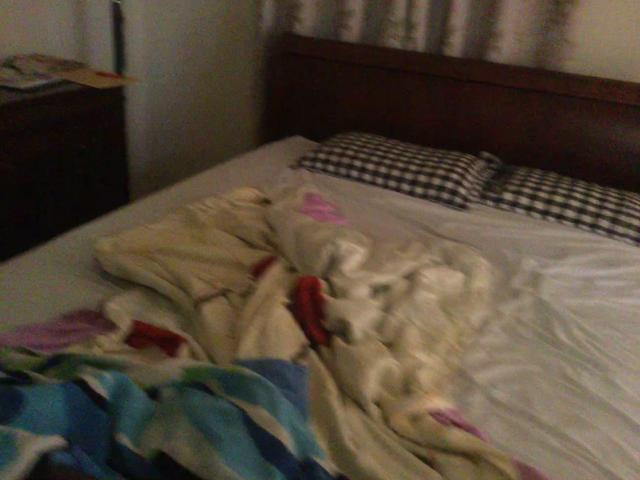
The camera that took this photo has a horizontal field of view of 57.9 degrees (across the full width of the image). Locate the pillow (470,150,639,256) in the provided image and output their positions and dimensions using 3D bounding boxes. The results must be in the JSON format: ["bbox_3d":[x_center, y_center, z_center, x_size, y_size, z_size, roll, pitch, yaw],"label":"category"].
[{"bbox_3d":[0.890,-0.140,2.030,0.630,0.140,0.450,14,25,18],"label":"pillow"}]

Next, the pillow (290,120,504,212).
[{"bbox_3d":[0.300,-0.300,2.170,0.700,0.110,0.440,14,25,18],"label":"pillow"}]
